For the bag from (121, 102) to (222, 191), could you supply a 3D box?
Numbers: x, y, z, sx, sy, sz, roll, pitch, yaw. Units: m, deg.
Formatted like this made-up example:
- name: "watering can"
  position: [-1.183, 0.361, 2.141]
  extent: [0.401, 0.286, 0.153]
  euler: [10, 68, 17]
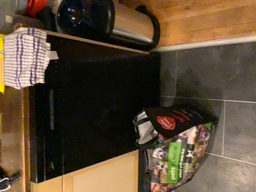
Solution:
- name: "bag"
  position: [0.240, 0.300, 1.190]
  extent: [0.310, 0.370, 0.430]
  euler: [25, 109, 39]

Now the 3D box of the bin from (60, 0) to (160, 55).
- name: "bin"
  position: [-0.080, -0.420, 1.290]
  extent: [0.240, 0.590, 0.260]
  euler: [6, 96, 42]
